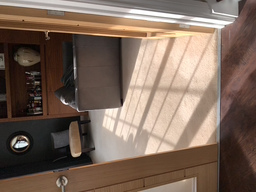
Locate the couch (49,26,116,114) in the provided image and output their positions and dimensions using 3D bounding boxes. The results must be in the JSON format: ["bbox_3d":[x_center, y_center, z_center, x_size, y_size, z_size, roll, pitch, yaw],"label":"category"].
[{"bbox_3d":[-0.780,-0.360,3.360,1.240,0.760,1.090,-173,82,-65],"label":"couch"}]

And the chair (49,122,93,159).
[{"bbox_3d":[-1.330,0.990,4.810,0.920,0.800,0.670,155,111,-64],"label":"chair"}]
